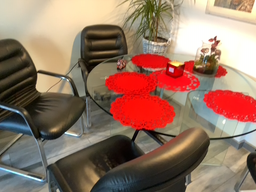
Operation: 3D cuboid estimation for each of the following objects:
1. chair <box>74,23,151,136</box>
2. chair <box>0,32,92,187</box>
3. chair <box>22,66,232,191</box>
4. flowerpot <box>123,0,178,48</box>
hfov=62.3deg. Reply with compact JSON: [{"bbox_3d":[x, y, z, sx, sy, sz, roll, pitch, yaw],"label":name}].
[{"bbox_3d":[-0.200,-0.200,2.170,0.530,0.900,0.680,-8,32,-19],"label":"chair"},{"bbox_3d":[-0.730,0.070,1.640,0.680,0.910,0.580,12,31,13],"label":"chair"},{"bbox_3d":[-0.060,0.440,1.090,0.550,0.910,0.680,-20,38,-35],"label":"chair"},{"bbox_3d":[0.230,-1.030,2.240,0.390,0.900,0.440,-11,33,-23],"label":"flowerpot"}]
